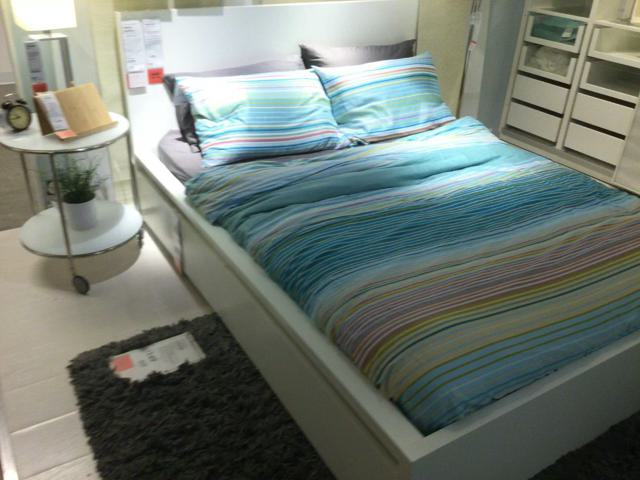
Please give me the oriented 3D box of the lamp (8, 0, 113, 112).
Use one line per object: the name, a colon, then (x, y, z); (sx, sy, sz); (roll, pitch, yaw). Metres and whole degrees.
lamp: (-1.000, -0.800, 2.190); (0.260, 0.510, 0.280); (-17, 39, -23)
